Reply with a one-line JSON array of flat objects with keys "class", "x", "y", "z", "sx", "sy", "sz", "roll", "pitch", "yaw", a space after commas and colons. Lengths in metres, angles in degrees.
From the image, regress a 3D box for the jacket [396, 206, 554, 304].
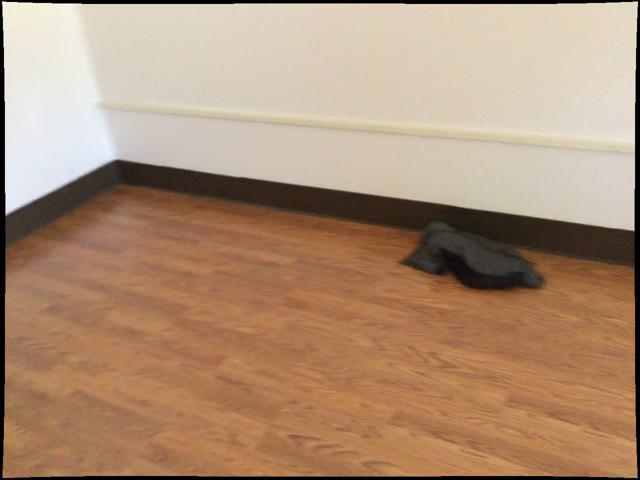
[{"class": "jacket", "x": 0.599, "y": 0.040, "z": 2.240, "sx": 0.510, "sy": 0.120, "sz": 0.360, "roll": 11, "pitch": 34, "yaw": 26}]
